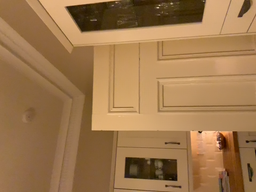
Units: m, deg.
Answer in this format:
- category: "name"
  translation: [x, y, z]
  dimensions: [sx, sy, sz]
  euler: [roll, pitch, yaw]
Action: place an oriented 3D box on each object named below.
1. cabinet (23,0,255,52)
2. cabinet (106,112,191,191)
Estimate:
- category: "cabinet"
  translation: [0.180, -0.600, 1.270]
  dimensions: [0.560, 1.400, 0.350]
  euler: [63, -151, -67]
- category: "cabinet"
  translation: [0.290, 0.770, 2.890]
  dimensions: [0.420, 1.010, 1.020]
  euler: [64, -152, -66]
